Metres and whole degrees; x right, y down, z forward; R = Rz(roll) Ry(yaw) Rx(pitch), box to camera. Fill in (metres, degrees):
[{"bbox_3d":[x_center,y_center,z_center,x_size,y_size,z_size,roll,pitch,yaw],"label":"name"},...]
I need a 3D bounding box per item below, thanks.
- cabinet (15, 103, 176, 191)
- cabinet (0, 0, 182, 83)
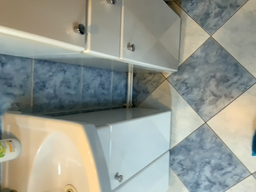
[{"bbox_3d":[-0.050,0.300,0.990,0.300,0.810,0.490,5,92,28],"label":"cabinet"},{"bbox_3d":[-0.280,-0.260,0.450,0.310,1.920,0.330,5,92,28],"label":"cabinet"}]
